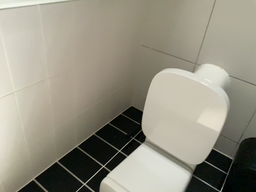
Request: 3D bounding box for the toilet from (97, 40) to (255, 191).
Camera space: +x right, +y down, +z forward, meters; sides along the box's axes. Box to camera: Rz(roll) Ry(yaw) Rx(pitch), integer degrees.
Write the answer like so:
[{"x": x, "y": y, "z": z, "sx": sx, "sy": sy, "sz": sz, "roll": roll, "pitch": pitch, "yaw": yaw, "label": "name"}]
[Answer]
[{"x": 0.250, "y": 0.170, "z": 1.070, "sx": 0.370, "sy": 0.760, "sz": 0.650, "roll": 28, "pitch": 129, "yaw": 25, "label": "toilet"}]
